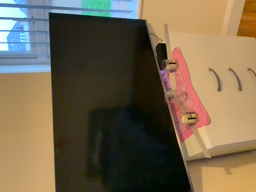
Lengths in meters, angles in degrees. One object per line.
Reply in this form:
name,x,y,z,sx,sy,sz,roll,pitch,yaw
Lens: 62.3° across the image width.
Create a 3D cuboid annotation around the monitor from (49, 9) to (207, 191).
monitor,-0.050,-0.020,1.180,0.050,0.690,1.140,121,141,-60
